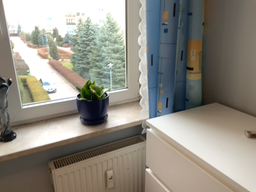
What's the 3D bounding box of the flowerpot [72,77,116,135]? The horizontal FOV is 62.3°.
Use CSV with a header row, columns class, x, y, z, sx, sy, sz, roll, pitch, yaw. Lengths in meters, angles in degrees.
class,x,y,z,sx,sy,sz,roll,pitch,yaw
flowerpot,-0.210,0.050,1.310,0.190,0.260,0.250,-9,22,-24
